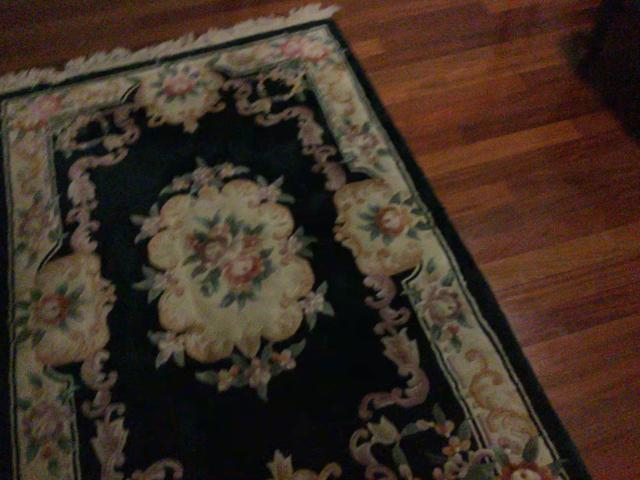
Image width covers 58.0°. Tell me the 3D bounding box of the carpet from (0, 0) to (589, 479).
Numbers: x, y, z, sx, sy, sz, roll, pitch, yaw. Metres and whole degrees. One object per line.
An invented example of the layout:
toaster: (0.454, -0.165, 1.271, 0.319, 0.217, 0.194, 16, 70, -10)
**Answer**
carpet: (-0.250, 0.060, 1.510, 1.240, 0.070, 2.000, -14, 58, -7)
